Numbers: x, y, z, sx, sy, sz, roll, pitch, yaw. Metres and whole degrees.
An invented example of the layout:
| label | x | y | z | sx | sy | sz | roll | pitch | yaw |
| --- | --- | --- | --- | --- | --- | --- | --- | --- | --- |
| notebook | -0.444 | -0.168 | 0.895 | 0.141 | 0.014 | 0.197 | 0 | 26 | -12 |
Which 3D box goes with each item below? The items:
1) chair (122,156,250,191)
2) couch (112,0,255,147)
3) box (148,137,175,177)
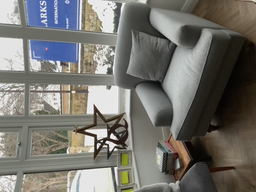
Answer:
| label | x | y | z | sx | sy | sz | roll | pitch | yaw |
| --- | --- | --- | --- | --- | --- | --- | --- | --- | --- |
| chair | 0.430 | 0.880 | 1.700 | 0.670 | 0.790 | 0.480 | 108 | 157 | -47 |
| couch | 0.370 | -0.260 | 1.970 | 1.050 | 0.790 | 0.920 | -112 | 27 | -55 |
| box | 0.360 | 0.660 | 2.340 | 0.350 | 0.140 | 0.280 | -136 | 48 | -69 |
